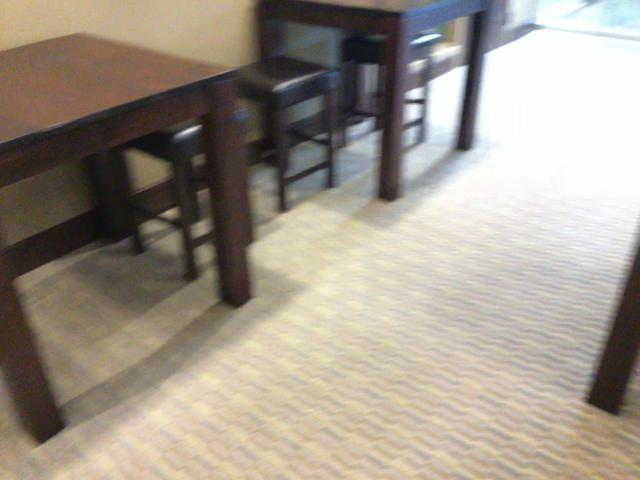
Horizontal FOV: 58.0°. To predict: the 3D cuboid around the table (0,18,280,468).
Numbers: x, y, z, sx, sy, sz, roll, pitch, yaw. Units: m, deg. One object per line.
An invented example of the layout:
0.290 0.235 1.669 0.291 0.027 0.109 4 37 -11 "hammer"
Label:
-0.890 -0.130 2.010 0.980 0.960 1.040 23 40 36 "table"
